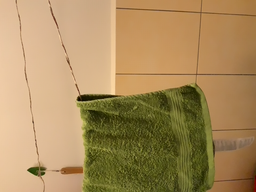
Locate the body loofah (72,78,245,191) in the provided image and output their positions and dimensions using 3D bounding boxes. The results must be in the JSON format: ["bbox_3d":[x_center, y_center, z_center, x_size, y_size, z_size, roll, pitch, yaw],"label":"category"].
[{"bbox_3d":[0.050,0.150,0.590,0.240,0.370,0.370,-128,39,-75],"label":"body loofah"}]
